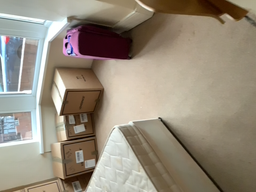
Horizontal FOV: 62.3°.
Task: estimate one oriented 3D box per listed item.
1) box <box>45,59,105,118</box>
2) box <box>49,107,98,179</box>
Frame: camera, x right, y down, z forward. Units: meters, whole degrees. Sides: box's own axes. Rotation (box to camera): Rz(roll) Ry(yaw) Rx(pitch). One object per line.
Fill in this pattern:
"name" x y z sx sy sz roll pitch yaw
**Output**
"box" -0.760 -0.110 2.960 0.540 0.570 0.570 56 134 36
"box" -0.810 0.640 3.090 0.470 0.500 0.890 -11 83 54
